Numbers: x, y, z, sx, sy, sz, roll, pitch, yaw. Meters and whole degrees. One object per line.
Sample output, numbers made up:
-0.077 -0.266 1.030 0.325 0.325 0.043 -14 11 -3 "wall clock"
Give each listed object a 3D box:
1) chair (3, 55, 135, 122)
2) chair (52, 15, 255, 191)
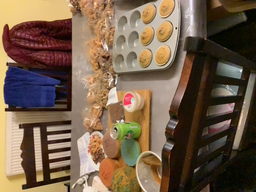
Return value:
-0.490 -0.030 1.900 0.560 0.990 0.430 -1 88 49 "chair"
0.270 0.040 0.990 0.560 1.010 0.470 14 99 49 "chair"
